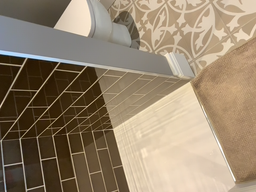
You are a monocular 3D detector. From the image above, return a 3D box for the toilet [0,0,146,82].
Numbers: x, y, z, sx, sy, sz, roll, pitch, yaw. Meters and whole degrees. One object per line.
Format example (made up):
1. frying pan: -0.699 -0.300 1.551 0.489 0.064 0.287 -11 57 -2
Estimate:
1. toilet: -0.400 -0.440 1.480 0.610 0.780 0.390 -35 64 40
